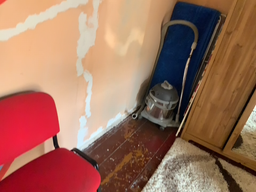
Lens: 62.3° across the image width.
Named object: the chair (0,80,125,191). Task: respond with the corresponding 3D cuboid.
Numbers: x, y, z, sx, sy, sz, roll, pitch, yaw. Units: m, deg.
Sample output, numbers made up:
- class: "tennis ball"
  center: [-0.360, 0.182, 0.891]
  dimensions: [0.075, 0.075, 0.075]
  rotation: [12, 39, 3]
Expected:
- class: "chair"
  center: [-0.470, 0.460, 1.160]
  dimensions: [0.590, 0.820, 0.520]
  rotation: [26, 32, 22]
